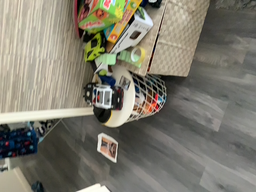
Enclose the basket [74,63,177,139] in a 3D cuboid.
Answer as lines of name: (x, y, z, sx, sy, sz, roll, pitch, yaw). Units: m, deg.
basket: (-0.010, 0.010, 1.500, 0.400, 0.550, 0.350, 25, 108, 41)
